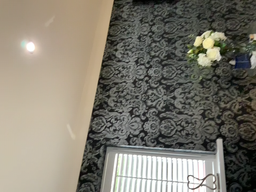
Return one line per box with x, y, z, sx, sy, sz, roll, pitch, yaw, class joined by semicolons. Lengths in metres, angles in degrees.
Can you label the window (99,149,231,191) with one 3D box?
0.340;0.860;2.110;0.060;1.250;0.560;69;-156;-63;window
